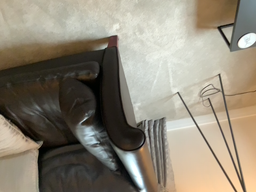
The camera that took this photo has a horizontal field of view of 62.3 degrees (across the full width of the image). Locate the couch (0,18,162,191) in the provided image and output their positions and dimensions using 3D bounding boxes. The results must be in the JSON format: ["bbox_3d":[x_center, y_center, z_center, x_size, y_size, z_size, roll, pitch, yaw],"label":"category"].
[{"bbox_3d":[-0.800,0.290,1.530,1.890,0.860,0.900,-11,142,7],"label":"couch"}]

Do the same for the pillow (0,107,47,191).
[{"bbox_3d":[-0.860,0.390,1.390,0.340,0.340,0.560,-11,142,7],"label":"pillow"}]
